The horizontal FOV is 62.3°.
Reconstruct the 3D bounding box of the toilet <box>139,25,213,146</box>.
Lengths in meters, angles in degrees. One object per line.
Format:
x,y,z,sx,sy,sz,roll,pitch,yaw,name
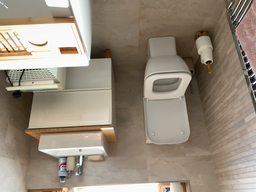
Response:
0.330,-0.050,1.790,0.400,0.810,0.620,-3,157,0,toilet
